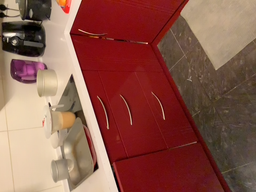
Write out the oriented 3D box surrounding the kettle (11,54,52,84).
[{"bbox_3d":[-0.810,-0.220,1.770,0.150,0.270,0.190,-47,56,46],"label":"kettle"}]
